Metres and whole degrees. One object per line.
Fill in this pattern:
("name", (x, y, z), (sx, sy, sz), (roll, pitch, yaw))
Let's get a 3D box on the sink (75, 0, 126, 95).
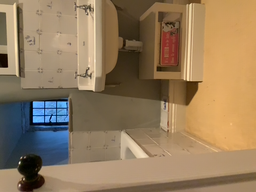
("sink", (-0.210, -0.380, 1.420), (0.470, 0.270, 0.710), (-161, 72, -74))
